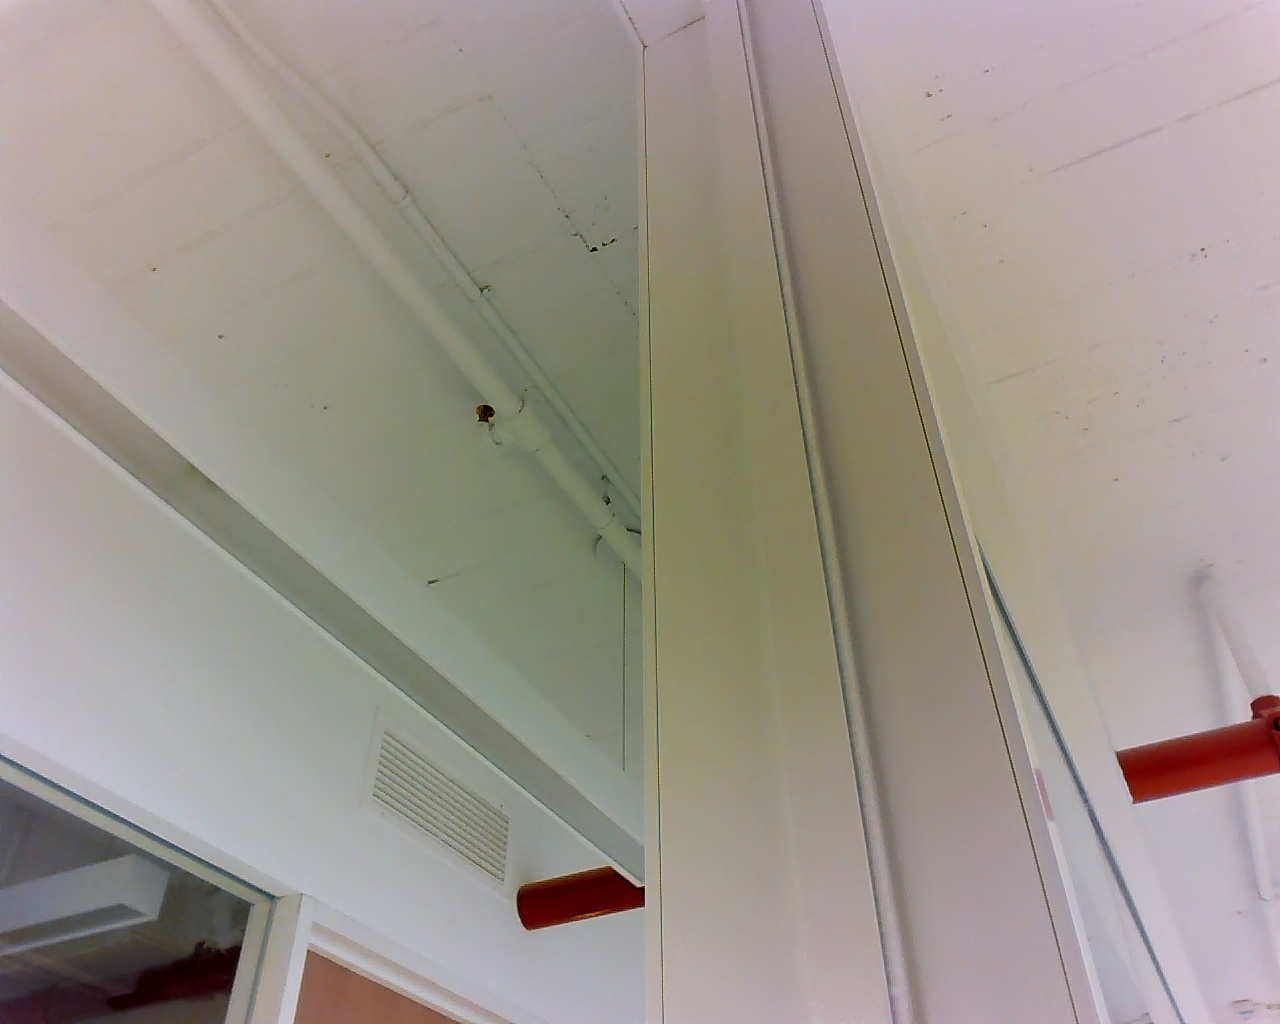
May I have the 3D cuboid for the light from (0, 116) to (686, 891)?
[{"bbox_3d":[-0.530,-0.070,1.310,0.160,2.440,0.160,-18,45,20],"label":"light"}]
